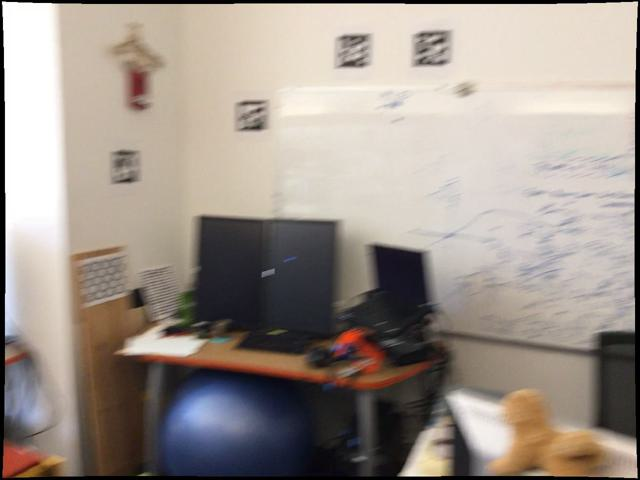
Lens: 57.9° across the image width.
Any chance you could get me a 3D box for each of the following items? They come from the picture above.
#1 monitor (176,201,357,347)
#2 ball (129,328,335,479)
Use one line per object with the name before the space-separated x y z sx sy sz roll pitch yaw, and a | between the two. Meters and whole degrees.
monitor | -0.260 0.130 2.840 0.749 0.551 0.450 6 10 21
ball | -0.370 0.861 2.580 0.669 0.691 0.610 6 10 21
